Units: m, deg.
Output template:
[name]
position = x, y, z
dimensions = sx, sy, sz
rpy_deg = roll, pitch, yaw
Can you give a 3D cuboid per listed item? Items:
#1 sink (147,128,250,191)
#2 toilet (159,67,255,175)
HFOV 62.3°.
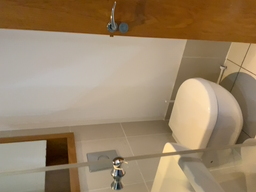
[sink]
position = 0.290, 0.520, 0.800
dimensions = 0.630, 0.150, 0.490
rpy_deg = -119, 32, -53
[toilet]
position = 0.580, 0.150, 1.470
dimensions = 0.420, 0.490, 0.560
rpy_deg = -119, 33, -53
